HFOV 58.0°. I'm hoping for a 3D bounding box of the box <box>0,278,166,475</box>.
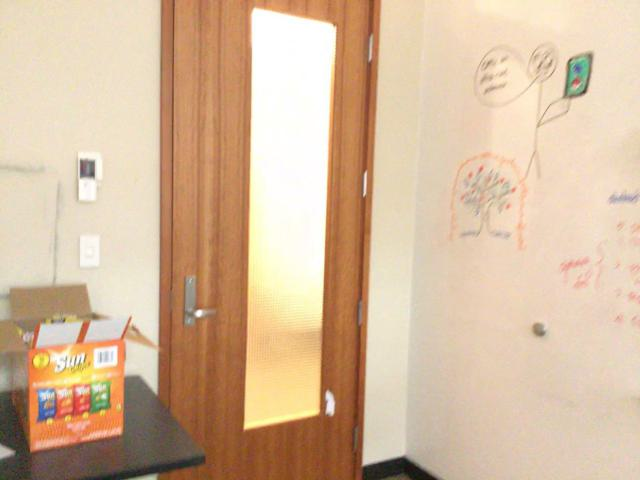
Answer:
[{"bbox_3d":[-0.800,0.360,1.790,0.460,0.420,0.680,1,1,-30],"label":"box"}]
